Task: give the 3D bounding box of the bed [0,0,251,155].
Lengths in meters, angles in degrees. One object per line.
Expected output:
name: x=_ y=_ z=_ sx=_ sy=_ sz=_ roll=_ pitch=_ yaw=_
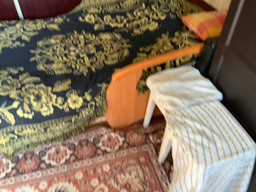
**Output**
bed: x=-0.280 y=-0.320 z=1.770 sx=1.920 sy=0.380 sz=1.250 roll=-11 pitch=45 yaw=-12
